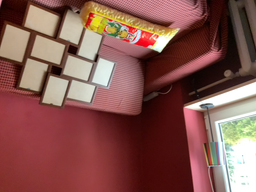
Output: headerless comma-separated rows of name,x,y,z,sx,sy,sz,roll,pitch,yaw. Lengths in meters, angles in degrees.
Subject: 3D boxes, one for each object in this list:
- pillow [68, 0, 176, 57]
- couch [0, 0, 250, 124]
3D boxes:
pillow,-0.020,-0.410,1.300,0.640,0.110,0.190,11,156,-28
couch,-0.200,-0.410,1.400,1.490,0.810,1.070,13,154,-33
